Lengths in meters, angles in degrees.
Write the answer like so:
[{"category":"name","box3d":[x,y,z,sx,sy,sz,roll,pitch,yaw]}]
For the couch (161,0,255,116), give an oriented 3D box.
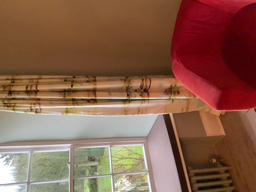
[{"category":"couch","box3d":[0.780,-0.390,1.490,0.750,0.690,0.780,-123,38,-60]}]
